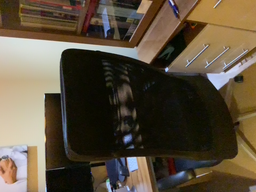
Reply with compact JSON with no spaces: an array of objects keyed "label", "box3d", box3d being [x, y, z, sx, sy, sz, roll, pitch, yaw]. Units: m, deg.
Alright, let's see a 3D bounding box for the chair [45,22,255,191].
[{"label":"chair","box3d":[0.230,0.160,1.250,0.730,1.300,0.640,126,137,-53]}]
